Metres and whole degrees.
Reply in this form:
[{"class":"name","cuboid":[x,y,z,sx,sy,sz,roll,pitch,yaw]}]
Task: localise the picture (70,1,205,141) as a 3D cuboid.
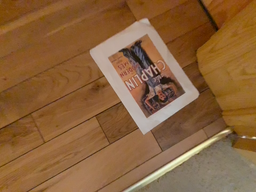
[{"class":"picture","cuboid":[0.030,-0.080,0.630,0.230,0.020,0.350,-39,89,-8]}]
